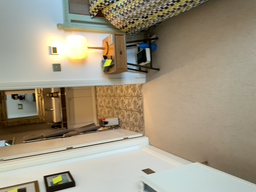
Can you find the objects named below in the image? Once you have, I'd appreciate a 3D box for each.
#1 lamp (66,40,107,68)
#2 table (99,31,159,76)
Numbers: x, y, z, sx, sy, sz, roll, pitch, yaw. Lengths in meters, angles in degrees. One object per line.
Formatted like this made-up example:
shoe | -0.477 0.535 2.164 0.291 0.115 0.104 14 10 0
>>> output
lamp | -0.470 -0.470 2.420 0.170 0.410 0.280 5 99 63
table | 0.010 -0.490 2.570 0.370 0.600 0.460 1 95 64
